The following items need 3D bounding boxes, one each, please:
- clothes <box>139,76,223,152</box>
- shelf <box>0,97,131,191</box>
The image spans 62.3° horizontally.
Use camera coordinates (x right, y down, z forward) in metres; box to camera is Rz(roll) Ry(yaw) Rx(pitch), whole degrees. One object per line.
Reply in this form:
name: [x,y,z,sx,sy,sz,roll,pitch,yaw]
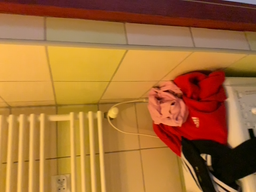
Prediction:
clothes: [0.190,0.100,0.910,0.380,0.150,0.240,131,135,-66]
shelf: [-0.590,0.380,0.830,0.150,1.200,0.710,133,133,-67]
